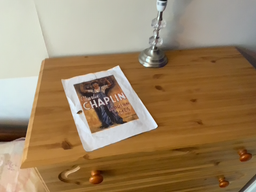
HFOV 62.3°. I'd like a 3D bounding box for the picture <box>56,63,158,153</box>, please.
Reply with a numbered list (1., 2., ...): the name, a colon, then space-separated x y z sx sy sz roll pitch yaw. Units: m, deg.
1. picture: -0.080 0.010 0.650 0.230 0.010 0.300 -14 47 -17
